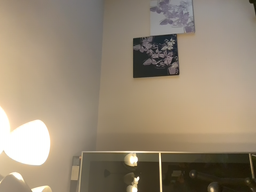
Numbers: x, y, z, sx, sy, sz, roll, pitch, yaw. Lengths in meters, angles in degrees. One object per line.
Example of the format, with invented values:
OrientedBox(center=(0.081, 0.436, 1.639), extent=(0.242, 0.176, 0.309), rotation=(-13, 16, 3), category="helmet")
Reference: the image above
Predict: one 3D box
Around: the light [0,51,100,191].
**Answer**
OrientedBox(center=(-0.410, 0.210, 0.730), extent=(0.470, 0.350, 0.600), rotation=(15, 131, -5), category="light")
